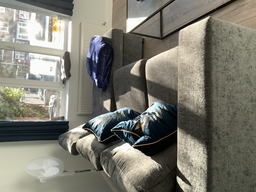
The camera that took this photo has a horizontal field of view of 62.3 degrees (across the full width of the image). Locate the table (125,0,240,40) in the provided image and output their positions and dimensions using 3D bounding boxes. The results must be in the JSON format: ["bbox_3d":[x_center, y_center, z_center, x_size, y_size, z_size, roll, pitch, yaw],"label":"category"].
[{"bbox_3d":[0.390,-0.900,1.740,0.990,0.420,0.530,-9,79,62],"label":"table"}]

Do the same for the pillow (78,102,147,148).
[{"bbox_3d":[-0.160,0.230,1.910,0.480,0.420,0.200,-5,109,62],"label":"pillow"}]

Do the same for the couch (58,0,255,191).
[{"bbox_3d":[-0.010,0.170,2.000,2.350,0.820,1.060,-4,84,62],"label":"couch"}]

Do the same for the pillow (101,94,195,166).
[{"bbox_3d":[0.120,0.200,1.470,0.450,0.430,0.220,-4,118,61],"label":"pillow"}]
